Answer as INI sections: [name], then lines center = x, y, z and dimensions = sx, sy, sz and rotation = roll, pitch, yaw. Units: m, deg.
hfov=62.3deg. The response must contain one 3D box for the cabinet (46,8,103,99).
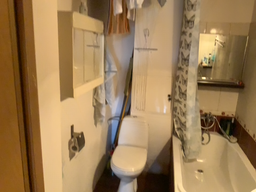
[cabinet]
center = -0.330, -0.300, 1.470
dimensions = 0.130, 0.490, 0.620
rotation = 5, 15, 9

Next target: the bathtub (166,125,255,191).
[bathtub]
center = 0.740, 0.850, 2.030
dimensions = 0.690, 0.580, 1.400
rotation = 5, 15, 10
